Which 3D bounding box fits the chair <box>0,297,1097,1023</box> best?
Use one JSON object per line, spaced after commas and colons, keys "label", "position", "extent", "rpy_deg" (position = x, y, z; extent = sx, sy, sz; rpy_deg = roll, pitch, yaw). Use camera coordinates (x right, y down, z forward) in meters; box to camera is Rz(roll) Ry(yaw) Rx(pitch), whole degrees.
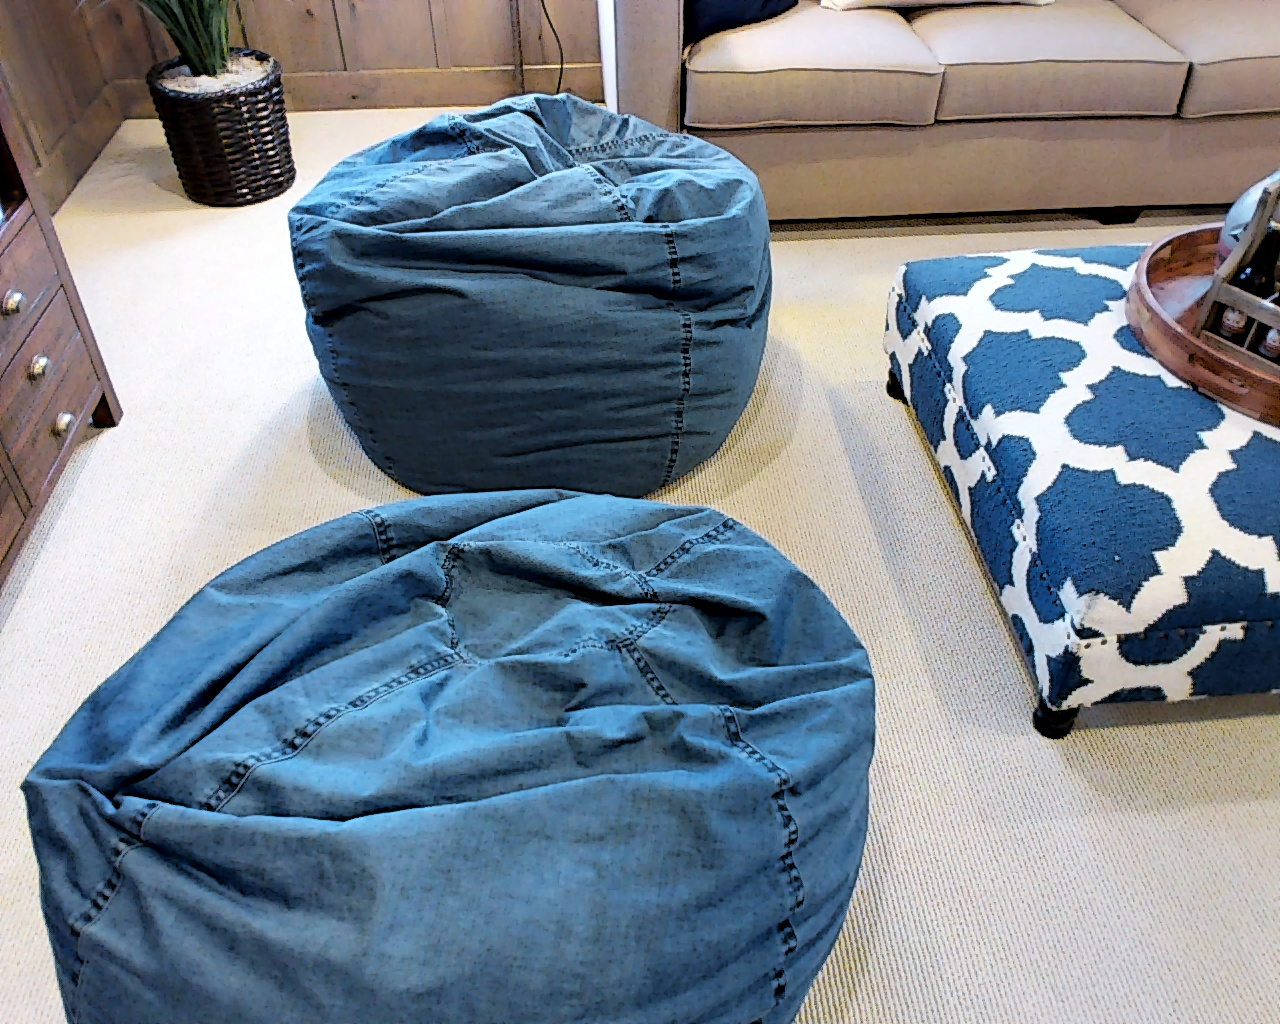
{"label": "chair", "position": [-0.190, 0.320, 1.370], "extent": [1.050, 0.520, 0.970], "rpy_deg": [29, 49, 29]}

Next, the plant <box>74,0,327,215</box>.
{"label": "plant", "position": [-1.200, -1.320, 2.920], "extent": [0.460, 0.880, 0.390], "rpy_deg": [-4, 42, -4]}

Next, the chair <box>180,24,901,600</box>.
{"label": "chair", "position": [-0.180, -0.510, 2.260], "extent": [1.010, 0.560, 0.960], "rpy_deg": [29, 49, 29]}
